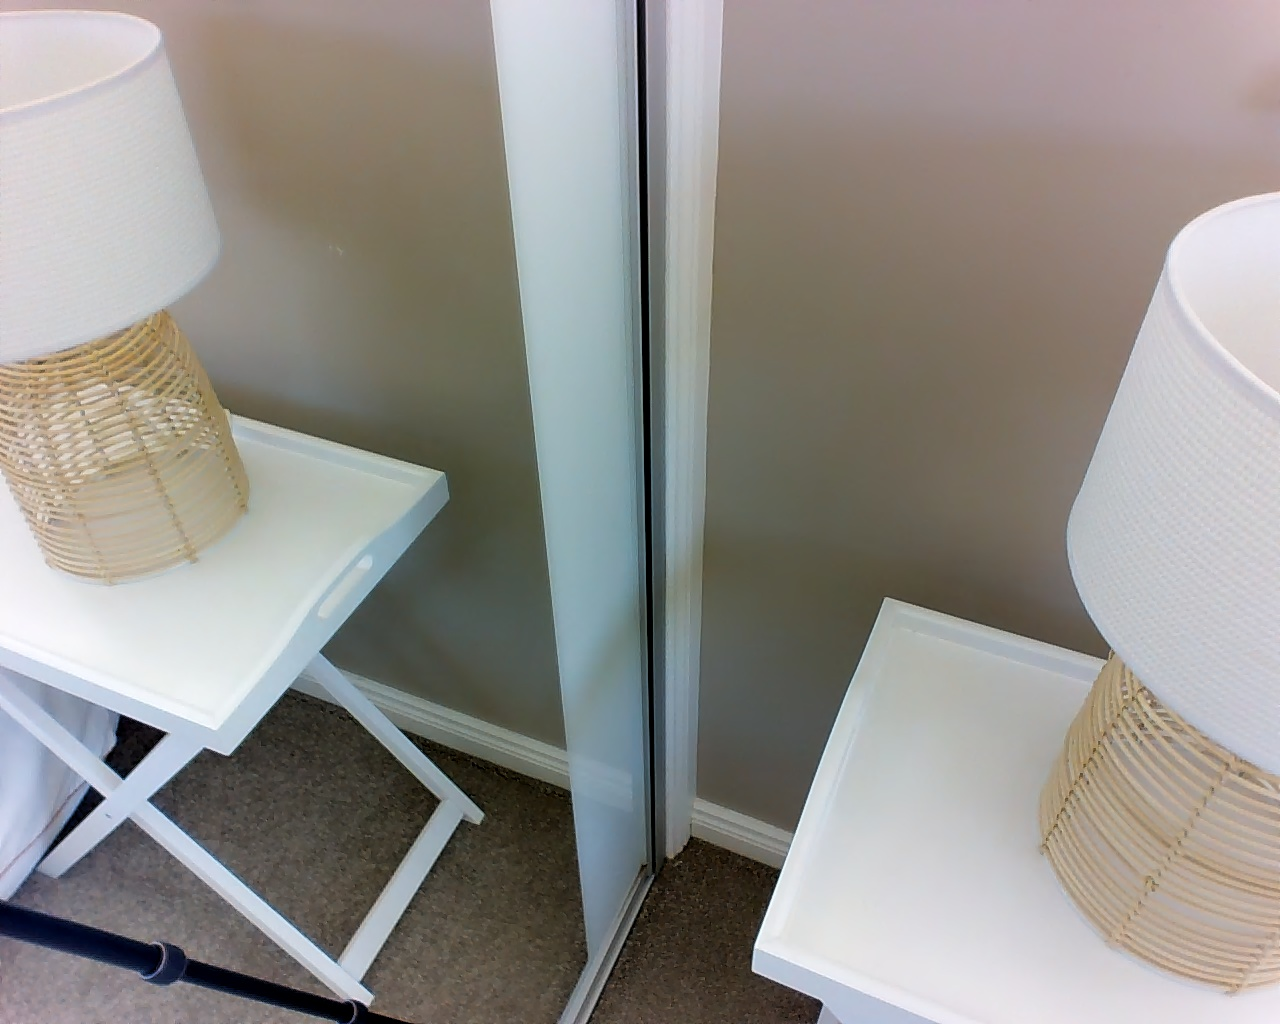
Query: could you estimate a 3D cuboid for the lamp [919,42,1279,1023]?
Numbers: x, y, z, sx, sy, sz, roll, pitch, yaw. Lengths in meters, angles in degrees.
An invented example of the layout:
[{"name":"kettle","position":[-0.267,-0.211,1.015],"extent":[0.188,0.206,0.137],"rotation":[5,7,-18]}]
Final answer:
[{"name":"lamp","position":[0.470,0.060,0.690],"extent":[0.400,0.520,0.460],"rotation":[15,43,18]}]
